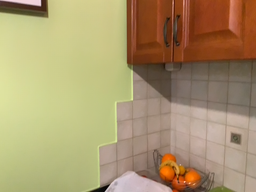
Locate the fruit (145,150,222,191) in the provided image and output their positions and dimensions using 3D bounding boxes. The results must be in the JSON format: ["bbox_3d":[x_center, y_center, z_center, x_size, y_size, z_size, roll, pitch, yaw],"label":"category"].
[{"bbox_3d":[0.270,0.410,1.070,0.240,0.140,0.280,-5,9,-32],"label":"fruit"}]
